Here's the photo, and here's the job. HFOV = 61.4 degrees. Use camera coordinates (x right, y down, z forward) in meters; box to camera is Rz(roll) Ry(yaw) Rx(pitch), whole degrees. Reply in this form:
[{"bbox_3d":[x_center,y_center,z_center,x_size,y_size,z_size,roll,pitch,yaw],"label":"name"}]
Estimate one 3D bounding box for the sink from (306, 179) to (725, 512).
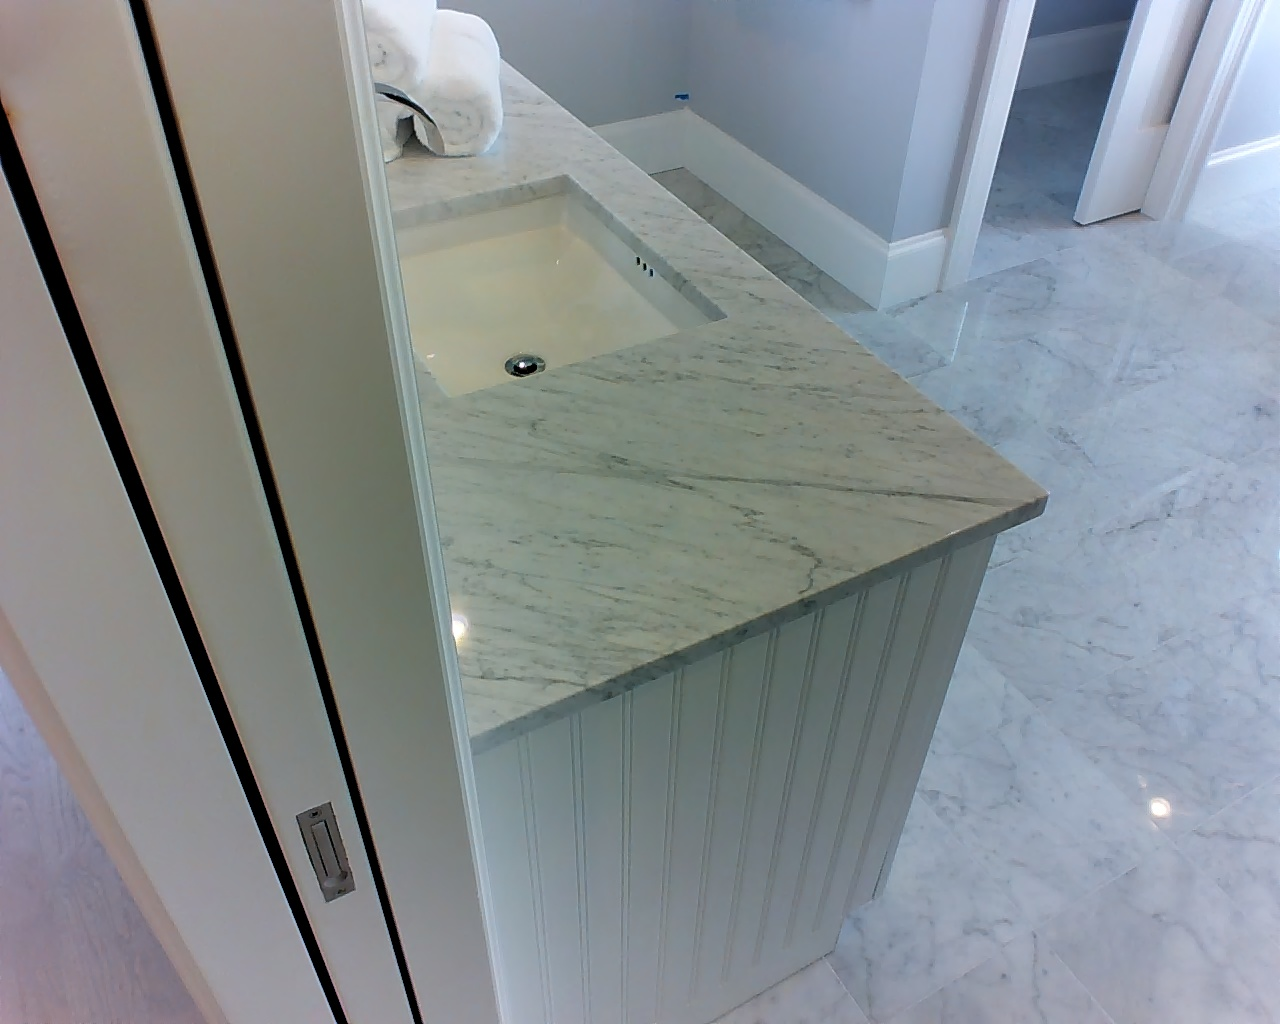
[{"bbox_3d":[-0.170,-0.240,1.390,0.370,0.140,0.440,-20,46,-22],"label":"sink"}]
